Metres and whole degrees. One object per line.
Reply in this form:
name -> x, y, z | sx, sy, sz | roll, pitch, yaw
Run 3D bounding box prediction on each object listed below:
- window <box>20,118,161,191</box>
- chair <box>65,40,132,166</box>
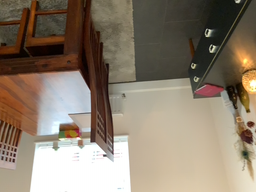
window -> -0.470, 1.130, 2.670 | 1.730, 1.560, 0.200 | -5, 157, 3
chair -> -0.270, 0.070, 2.110 | 0.500, 1.130, 0.440 | -6, 157, 5
